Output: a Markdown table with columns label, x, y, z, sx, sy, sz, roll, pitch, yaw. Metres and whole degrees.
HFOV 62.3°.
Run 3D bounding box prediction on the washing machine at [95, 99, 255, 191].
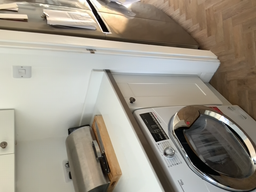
| label | x | y | z | sx | sy | sz | roll | pitch | yaw |
| --- | --- | --- | --- | --- | --- | --- | --- | --- | --- |
| washing machine | 0.380 | 0.460 | 1.250 | 0.590 | 0.910 | 0.630 | 62 | 142 | 41 |
